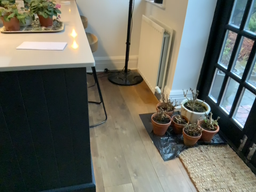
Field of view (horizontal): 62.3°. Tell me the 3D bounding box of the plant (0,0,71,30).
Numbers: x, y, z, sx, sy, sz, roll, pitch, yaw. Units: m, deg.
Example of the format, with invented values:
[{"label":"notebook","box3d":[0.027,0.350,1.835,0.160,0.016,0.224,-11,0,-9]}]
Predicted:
[{"label":"plant","box3d":[-0.590,-0.540,1.340,0.370,0.150,0.270,-13,35,-25]}]
